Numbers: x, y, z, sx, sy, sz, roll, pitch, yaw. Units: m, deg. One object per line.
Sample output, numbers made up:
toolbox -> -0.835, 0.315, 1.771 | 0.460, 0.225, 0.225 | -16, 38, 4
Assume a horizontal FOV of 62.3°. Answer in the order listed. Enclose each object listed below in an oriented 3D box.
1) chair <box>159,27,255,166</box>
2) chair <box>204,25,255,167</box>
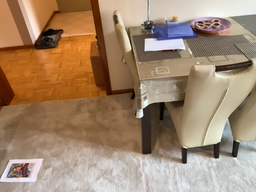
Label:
chair -> 0.510, 0.030, 1.610 | 0.430, 0.900, 0.510 | -5, 39, 0
chair -> 0.960, 0.010, 1.600 | 0.430, 0.900, 0.570 | -5, 39, 0
